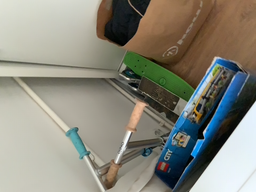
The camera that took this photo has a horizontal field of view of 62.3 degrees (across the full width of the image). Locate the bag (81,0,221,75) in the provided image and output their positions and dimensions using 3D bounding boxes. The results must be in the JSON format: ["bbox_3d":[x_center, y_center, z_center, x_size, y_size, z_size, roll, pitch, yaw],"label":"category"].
[{"bbox_3d":[0.130,-0.390,1.020,0.310,0.470,0.470,41,115,25],"label":"bag"}]
